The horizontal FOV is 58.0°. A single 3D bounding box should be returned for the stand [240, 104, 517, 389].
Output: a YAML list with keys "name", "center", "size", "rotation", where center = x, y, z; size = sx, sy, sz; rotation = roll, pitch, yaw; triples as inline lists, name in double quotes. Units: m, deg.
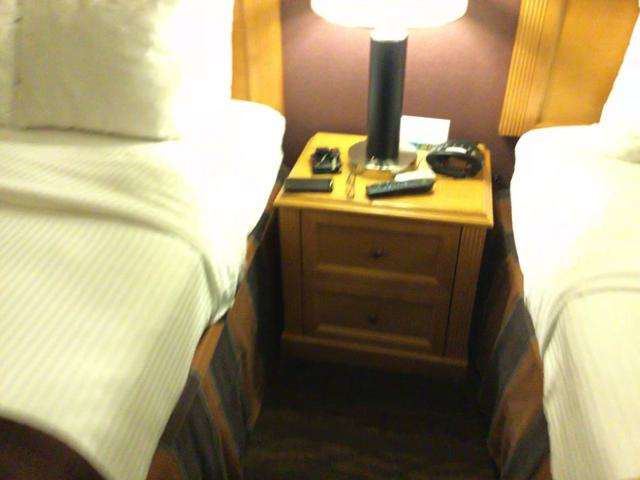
- name: "stand"
  center: [0.180, 0.000, 1.850]
  size: [0.700, 0.700, 0.500]
  rotation: [5, 31, 9]

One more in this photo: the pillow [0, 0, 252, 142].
- name: "pillow"
  center: [-0.580, -0.550, 1.650]
  size: [0.660, 0.380, 0.390]
  rotation: [5, 31, 9]

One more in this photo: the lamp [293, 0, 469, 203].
- name: "lamp"
  center: [0.170, -0.530, 1.560]
  size: [0.400, 0.720, 0.420]
  rotation: [5, 31, 9]
